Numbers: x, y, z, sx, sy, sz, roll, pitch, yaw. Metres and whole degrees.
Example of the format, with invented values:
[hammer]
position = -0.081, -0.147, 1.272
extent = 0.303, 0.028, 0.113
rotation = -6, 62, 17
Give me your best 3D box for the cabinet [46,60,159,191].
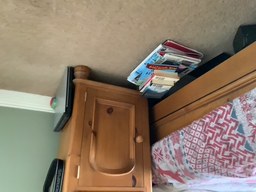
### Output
[cabinet]
position = -0.170, 0.320, 1.270
extent = 0.470, 0.820, 0.510
rotation = 12, 154, -25
